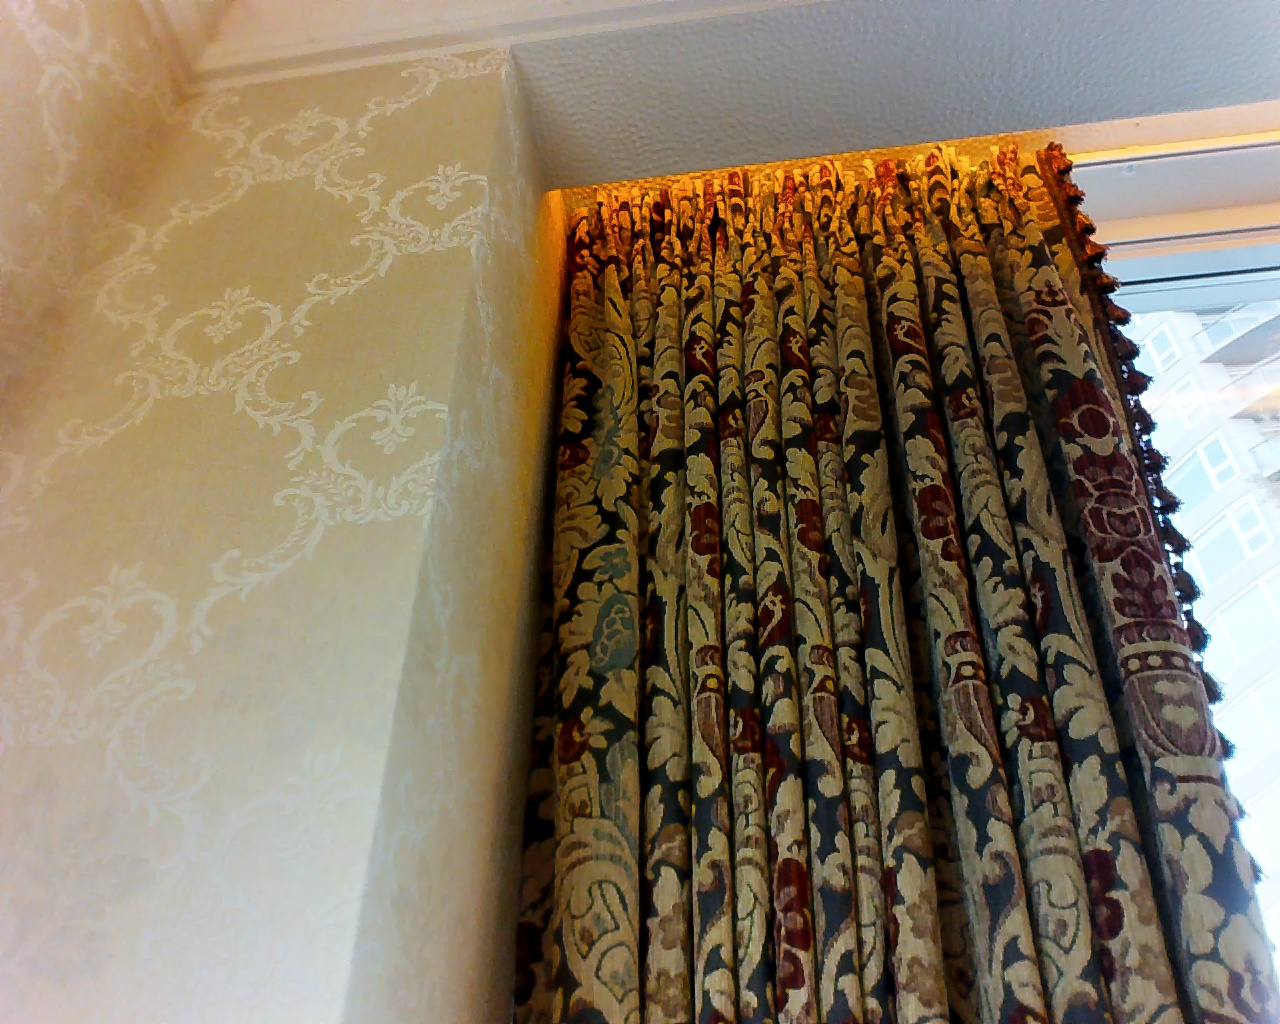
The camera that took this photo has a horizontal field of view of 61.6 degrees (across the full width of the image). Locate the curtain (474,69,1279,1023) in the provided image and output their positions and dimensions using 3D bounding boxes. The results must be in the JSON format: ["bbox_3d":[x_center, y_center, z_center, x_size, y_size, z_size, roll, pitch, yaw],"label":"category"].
[{"bbox_3d":[0.310,0.520,0.530,0.840,2.651,0.100,-5,-42,7],"label":"curtain"}]
